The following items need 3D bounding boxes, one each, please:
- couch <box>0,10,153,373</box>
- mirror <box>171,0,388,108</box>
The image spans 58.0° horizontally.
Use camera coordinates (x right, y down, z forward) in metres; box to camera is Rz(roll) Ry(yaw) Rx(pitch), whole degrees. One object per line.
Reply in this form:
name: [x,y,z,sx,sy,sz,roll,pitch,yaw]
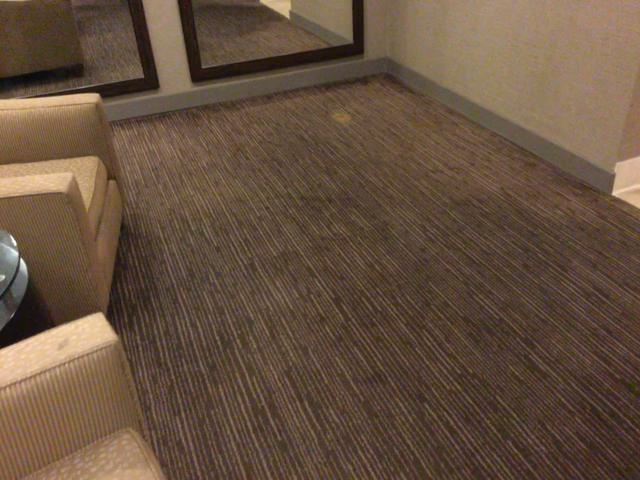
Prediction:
couch: [-1.190,-0.180,1.960,0.930,0.940,0.890,-12,26,-6]
mirror: [-0.240,-1.530,3.440,1.280,1.240,0.160,-14,32,-12]
